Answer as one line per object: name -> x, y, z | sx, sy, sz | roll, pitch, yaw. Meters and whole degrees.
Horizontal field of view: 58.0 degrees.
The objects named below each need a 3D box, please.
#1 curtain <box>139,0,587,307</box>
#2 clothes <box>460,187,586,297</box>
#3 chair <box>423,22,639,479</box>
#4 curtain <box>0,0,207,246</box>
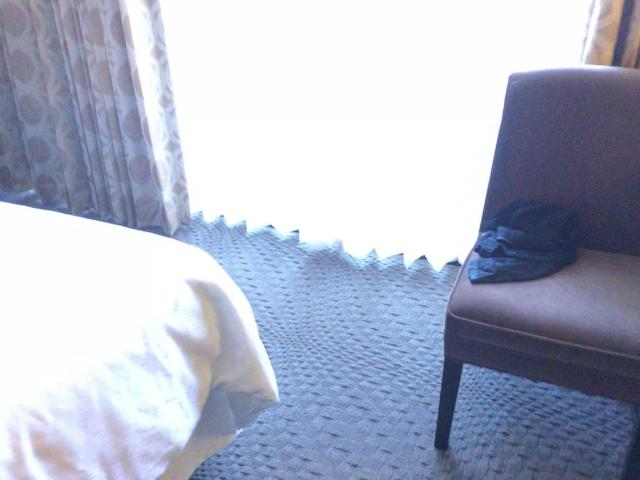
curtain -> 0.090, -0.750, 2.070 | 1.550, 1.810, 0.280 | 10, 28, 20
clothes -> 0.540, -0.010, 1.520 | 0.270, 0.120, 0.330 | 10, 28, 20
chair -> 0.690, 0.000, 1.570 | 0.580, 1.020, 0.770 | 10, 28, 20
curtain -> -1.150, -1.070, 2.340 | 1.190, 2.090, 0.310 | 10, 28, 20
